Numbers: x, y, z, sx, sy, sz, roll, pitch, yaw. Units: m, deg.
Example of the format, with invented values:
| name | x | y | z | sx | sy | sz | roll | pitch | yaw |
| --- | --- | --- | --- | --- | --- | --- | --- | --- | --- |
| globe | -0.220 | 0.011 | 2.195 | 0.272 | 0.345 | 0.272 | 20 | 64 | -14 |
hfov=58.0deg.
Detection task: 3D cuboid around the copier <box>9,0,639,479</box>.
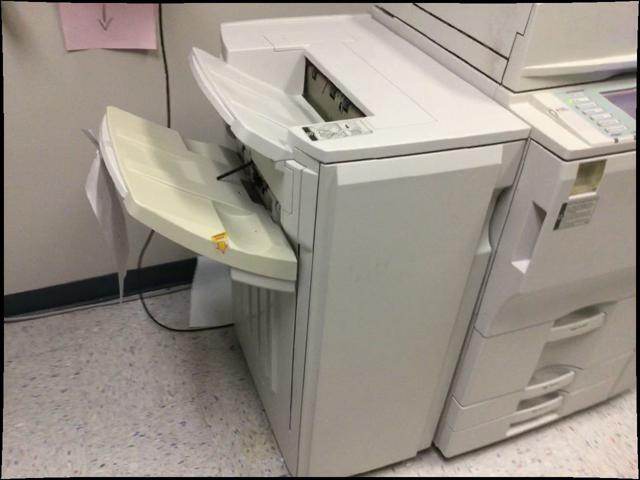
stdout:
| name | x | y | z | sx | sy | sz | roll | pitch | yaw |
| --- | --- | --- | --- | --- | --- | --- | --- | --- | --- |
| copier | 0.249 | -0.080 | 1.370 | 1.417 | 1.142 | 0.741 | -12 | 43 | -14 |
